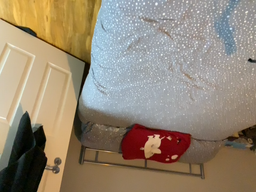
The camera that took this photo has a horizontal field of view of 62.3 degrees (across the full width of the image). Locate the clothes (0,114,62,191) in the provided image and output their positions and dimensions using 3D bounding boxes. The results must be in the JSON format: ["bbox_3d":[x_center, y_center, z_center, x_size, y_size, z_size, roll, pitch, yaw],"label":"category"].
[{"bbox_3d":[-0.660,0.710,1.150,0.280,1.200,0.190,24,144,-30],"label":"clothes"}]
